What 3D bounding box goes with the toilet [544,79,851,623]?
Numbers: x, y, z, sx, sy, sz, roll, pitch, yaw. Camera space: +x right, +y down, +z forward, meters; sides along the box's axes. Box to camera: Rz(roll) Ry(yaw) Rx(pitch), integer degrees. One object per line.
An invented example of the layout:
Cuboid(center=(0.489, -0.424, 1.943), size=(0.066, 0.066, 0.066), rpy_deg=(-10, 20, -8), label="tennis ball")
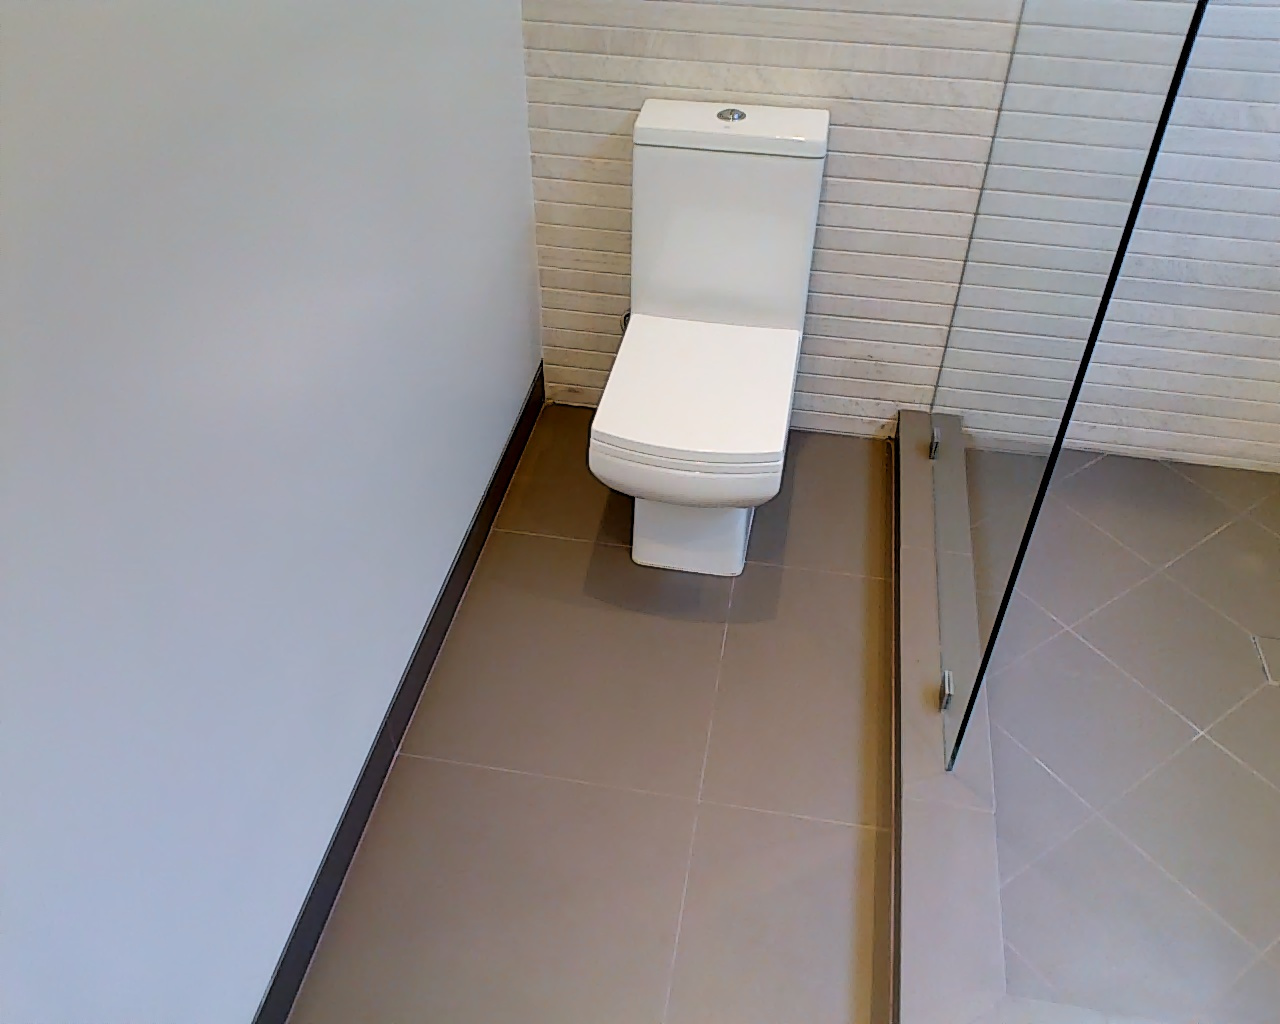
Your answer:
Cuboid(center=(0.130, -0.320, 2.120), size=(0.440, 0.790, 0.660), rpy_deg=(7, 42, 8), label="toilet")
